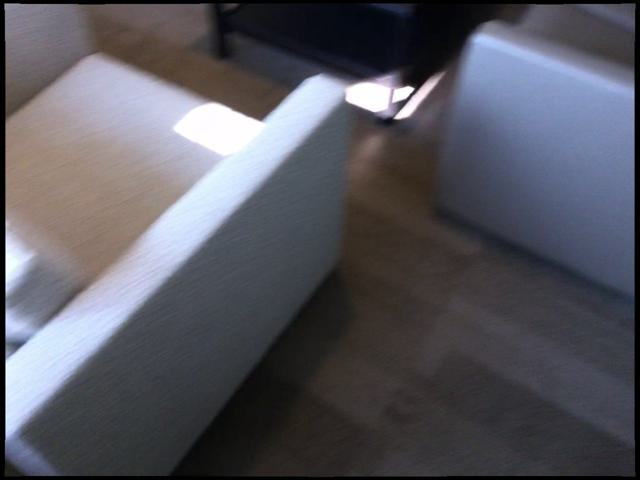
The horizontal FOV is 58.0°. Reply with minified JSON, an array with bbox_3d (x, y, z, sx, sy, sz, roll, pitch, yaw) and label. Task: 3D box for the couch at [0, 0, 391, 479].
[{"bbox_3d":[-0.519,-0.080,1.200,0.929,0.701,0.910,26,55,15],"label":"couch"}]
